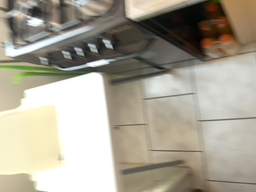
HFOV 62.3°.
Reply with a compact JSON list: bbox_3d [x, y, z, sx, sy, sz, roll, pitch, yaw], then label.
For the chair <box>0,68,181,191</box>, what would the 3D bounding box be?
[{"bbox_3d":[-0.140,0.160,1.070,0.530,0.860,0.430,-5,87,31],"label":"chair"}]
